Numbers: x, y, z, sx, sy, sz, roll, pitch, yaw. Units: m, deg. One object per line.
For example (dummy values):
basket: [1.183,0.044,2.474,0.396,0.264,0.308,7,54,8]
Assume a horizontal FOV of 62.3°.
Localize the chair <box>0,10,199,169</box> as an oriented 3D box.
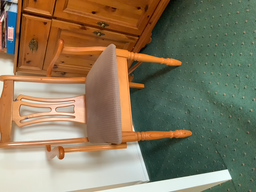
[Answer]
chair: [-0.190,0.050,1.150,0.570,0.880,0.550,-28,63,57]
